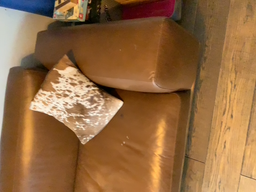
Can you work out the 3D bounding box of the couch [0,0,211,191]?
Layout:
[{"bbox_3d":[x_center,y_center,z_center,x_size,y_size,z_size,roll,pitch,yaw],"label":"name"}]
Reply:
[{"bbox_3d":[-0.260,0.720,1.320,1.020,2.280,0.750,8,3,38],"label":"couch"}]

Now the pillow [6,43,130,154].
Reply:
[{"bbox_3d":[-0.300,0.040,1.150,0.460,0.440,0.130,-29,26,14],"label":"pillow"}]
